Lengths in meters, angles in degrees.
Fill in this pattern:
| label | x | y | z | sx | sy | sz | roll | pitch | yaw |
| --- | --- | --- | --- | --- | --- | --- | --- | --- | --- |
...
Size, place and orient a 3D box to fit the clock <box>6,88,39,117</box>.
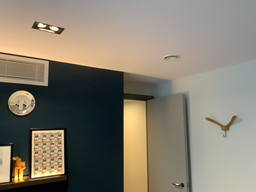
| label | x | y | z | sx | sy | sz | roll | pitch | yaw |
| --- | --- | --- | --- | --- | --- | --- | --- | --- | --- |
| clock | -0.960 | 0.060 | 1.940 | 0.250 | 0.250 | 0.020 | 6 | -10 | -33 |
